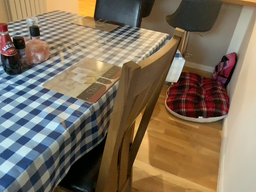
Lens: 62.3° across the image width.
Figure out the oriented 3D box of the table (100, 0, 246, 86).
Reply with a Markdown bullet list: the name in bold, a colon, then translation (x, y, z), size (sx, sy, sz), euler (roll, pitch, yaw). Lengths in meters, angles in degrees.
- **table**: translation (0.550, -0.950, 2.850), size (1.530, 0.910, 1.020), euler (16, 35, 15)

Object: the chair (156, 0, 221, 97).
- **chair**: translation (0.580, -0.540, 2.240), size (0.390, 0.920, 0.520), euler (9, 34, 5)

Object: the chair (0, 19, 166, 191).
- **chair**: translation (-0.200, 0.250, 0.940), size (0.470, 0.990, 0.380), euler (18, 36, 17)
